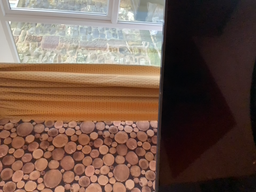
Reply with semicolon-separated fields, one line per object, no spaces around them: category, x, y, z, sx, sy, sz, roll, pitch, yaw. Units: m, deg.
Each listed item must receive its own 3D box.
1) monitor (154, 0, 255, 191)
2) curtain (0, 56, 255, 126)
monitor;0.570;0.020;1.250;0.070;0.810;1.270;-152;63;-75
curtain;-0.070;0.000;2.070;0.810;2.650;0.170;108;158;-54
